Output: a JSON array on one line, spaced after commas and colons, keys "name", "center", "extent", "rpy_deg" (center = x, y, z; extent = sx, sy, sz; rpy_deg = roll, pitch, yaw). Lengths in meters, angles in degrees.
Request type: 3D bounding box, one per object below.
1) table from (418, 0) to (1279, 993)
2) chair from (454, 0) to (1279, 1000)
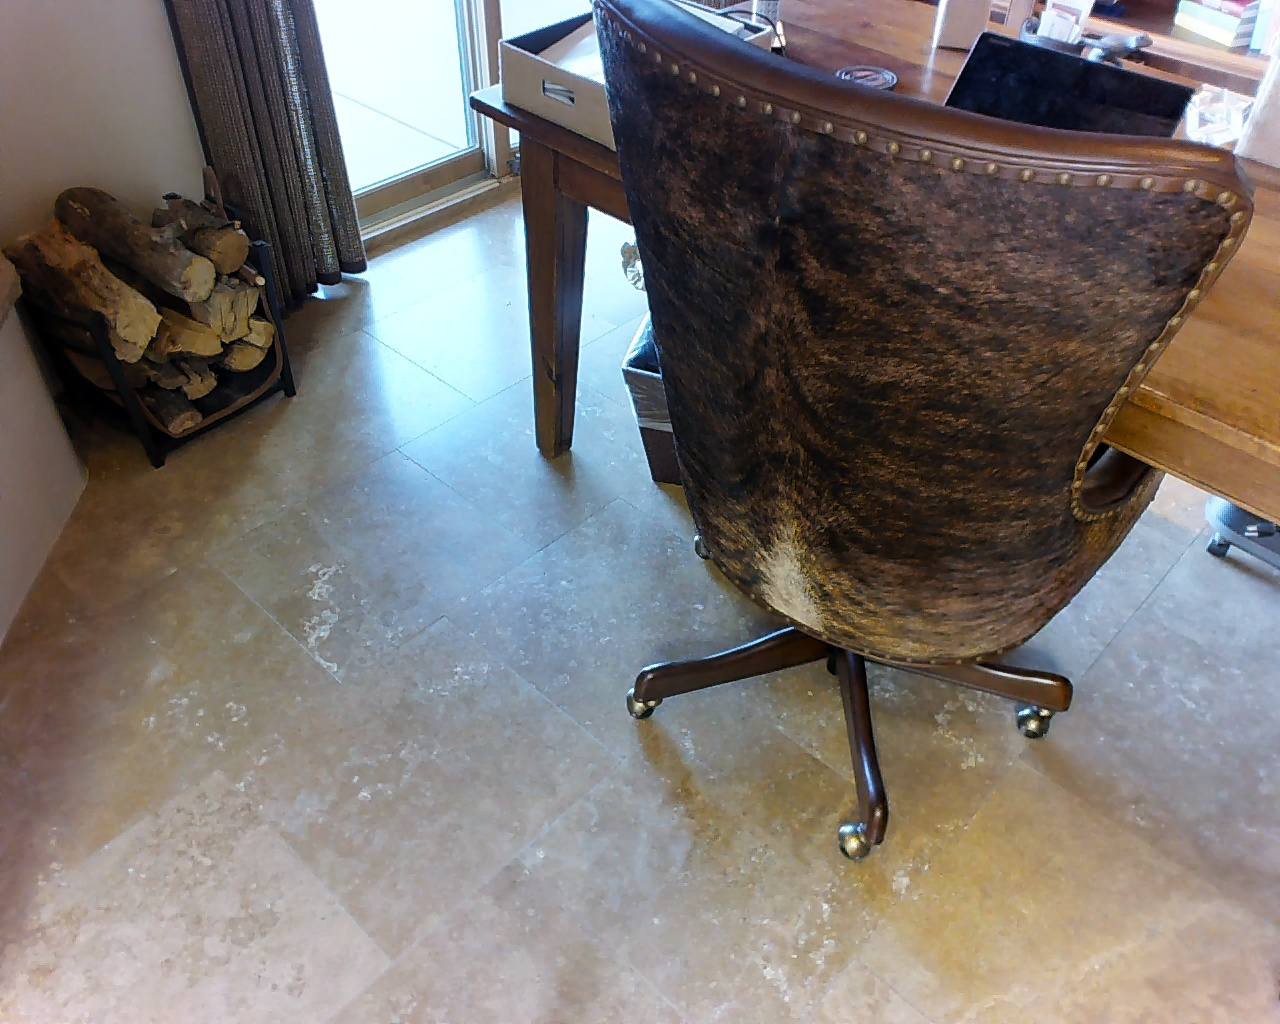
[{"name": "table", "center": [1.030, -0.040, 1.660], "extent": [2.840, 0.780, 1.100], "rpy_deg": [32, 51, 30]}, {"name": "chair", "center": [0.360, -0.150, 1.470], "extent": [0.820, 1.160, 0.770], "rpy_deg": [32, 51, 30]}]
